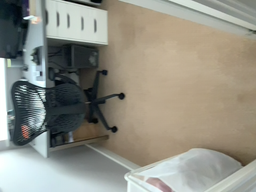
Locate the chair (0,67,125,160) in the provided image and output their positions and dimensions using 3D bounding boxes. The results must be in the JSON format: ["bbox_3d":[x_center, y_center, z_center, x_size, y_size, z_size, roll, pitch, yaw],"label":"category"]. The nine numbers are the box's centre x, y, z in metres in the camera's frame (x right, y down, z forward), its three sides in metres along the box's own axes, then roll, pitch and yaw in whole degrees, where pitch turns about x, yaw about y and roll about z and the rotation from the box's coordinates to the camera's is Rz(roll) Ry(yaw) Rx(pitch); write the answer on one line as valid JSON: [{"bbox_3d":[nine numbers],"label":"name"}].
[{"bbox_3d":[-0.670,0.070,2.140,0.760,1.010,0.680,11,101,50],"label":"chair"}]
